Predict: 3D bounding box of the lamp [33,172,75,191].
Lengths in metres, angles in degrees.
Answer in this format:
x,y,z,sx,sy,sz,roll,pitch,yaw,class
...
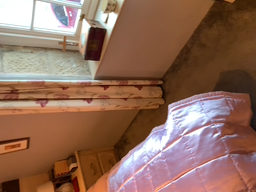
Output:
x,y,z,sx,sy,sz,roll,pitch,yaw,class
-0.860,1.080,2.450,0.200,0.400,0.250,-56,47,43,lamp
